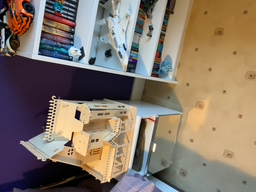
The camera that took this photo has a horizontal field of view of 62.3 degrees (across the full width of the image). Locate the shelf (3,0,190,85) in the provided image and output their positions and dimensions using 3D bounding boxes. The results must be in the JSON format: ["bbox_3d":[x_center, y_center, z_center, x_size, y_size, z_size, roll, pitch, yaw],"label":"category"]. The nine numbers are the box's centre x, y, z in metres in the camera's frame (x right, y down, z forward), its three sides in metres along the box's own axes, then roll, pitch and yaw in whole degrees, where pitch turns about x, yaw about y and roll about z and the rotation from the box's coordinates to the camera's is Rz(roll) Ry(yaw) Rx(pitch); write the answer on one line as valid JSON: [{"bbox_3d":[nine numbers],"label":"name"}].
[{"bbox_3d":[-0.040,-0.560,1.210,0.300,1.040,0.890,17,100,39],"label":"shelf"}]
